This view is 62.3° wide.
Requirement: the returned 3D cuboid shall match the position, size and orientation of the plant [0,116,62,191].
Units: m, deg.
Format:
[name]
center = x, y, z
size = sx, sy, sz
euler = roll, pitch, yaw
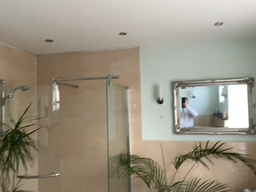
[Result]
[plant]
center = -1.080, 0.970, 2.220
size = 0.390, 1.460, 0.790
euler = -2, -3, 13
